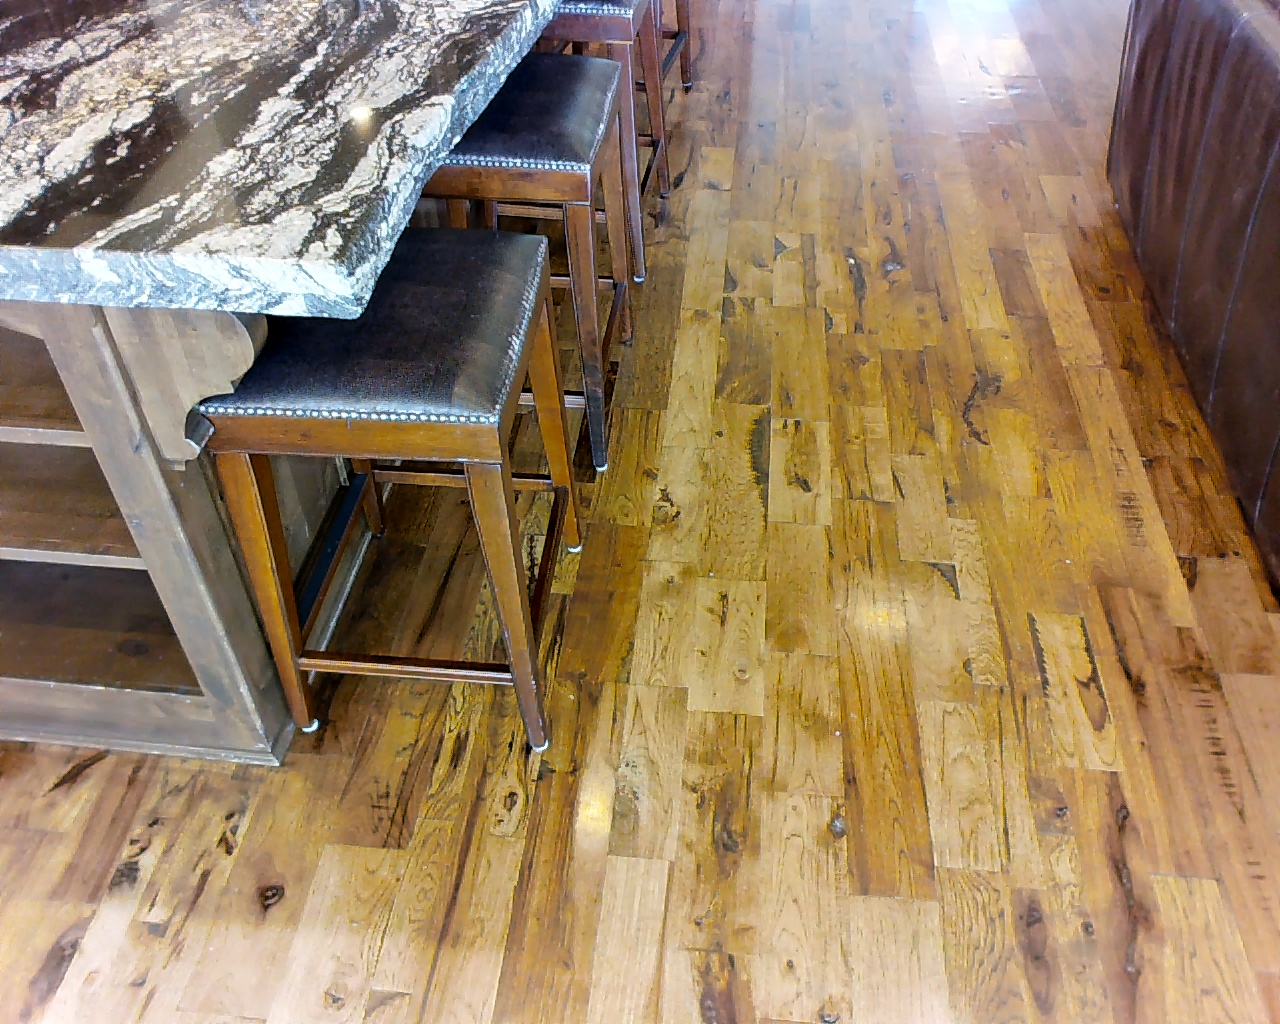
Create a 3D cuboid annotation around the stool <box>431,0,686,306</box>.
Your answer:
[{"bbox_3d":[-0.150,-1.080,2.730,0.480,0.720,0.850,4,44,4],"label":"stool"}]

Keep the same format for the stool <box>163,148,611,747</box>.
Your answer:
[{"bbox_3d":[-0.310,-0.100,1.710,0.450,0.700,0.610,4,44,4],"label":"stool"}]

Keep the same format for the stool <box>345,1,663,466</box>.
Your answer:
[{"bbox_3d":[-0.220,-0.570,2.210,0.480,0.710,0.590,4,44,4],"label":"stool"}]
